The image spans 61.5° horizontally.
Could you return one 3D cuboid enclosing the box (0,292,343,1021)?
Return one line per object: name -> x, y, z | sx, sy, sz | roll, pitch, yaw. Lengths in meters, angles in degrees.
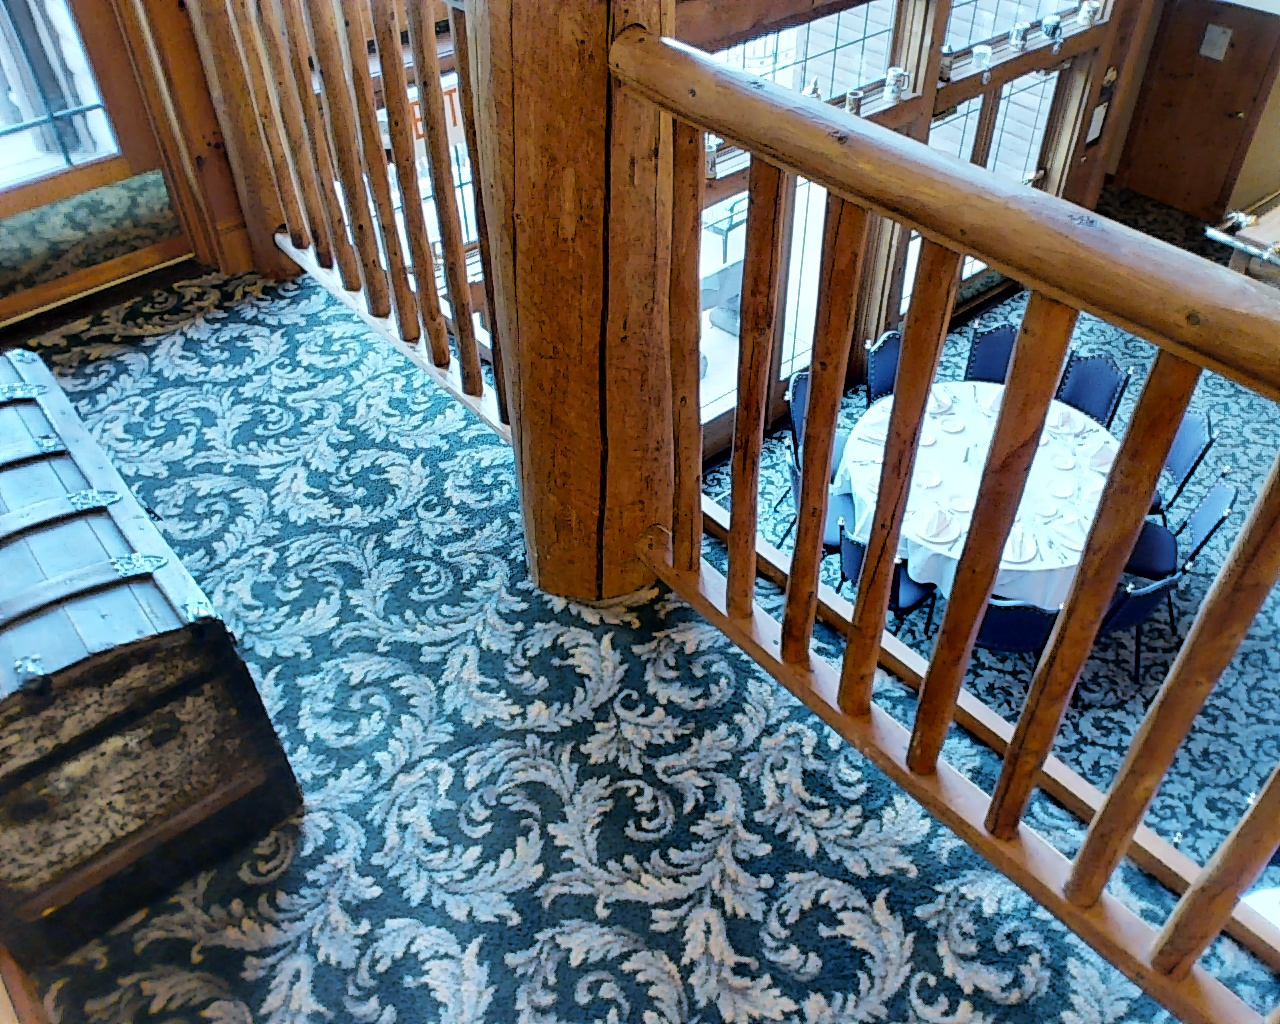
box -> -1.000, 0.170, 1.750 | 0.550, 0.570, 0.910 | -29, 49, -26
